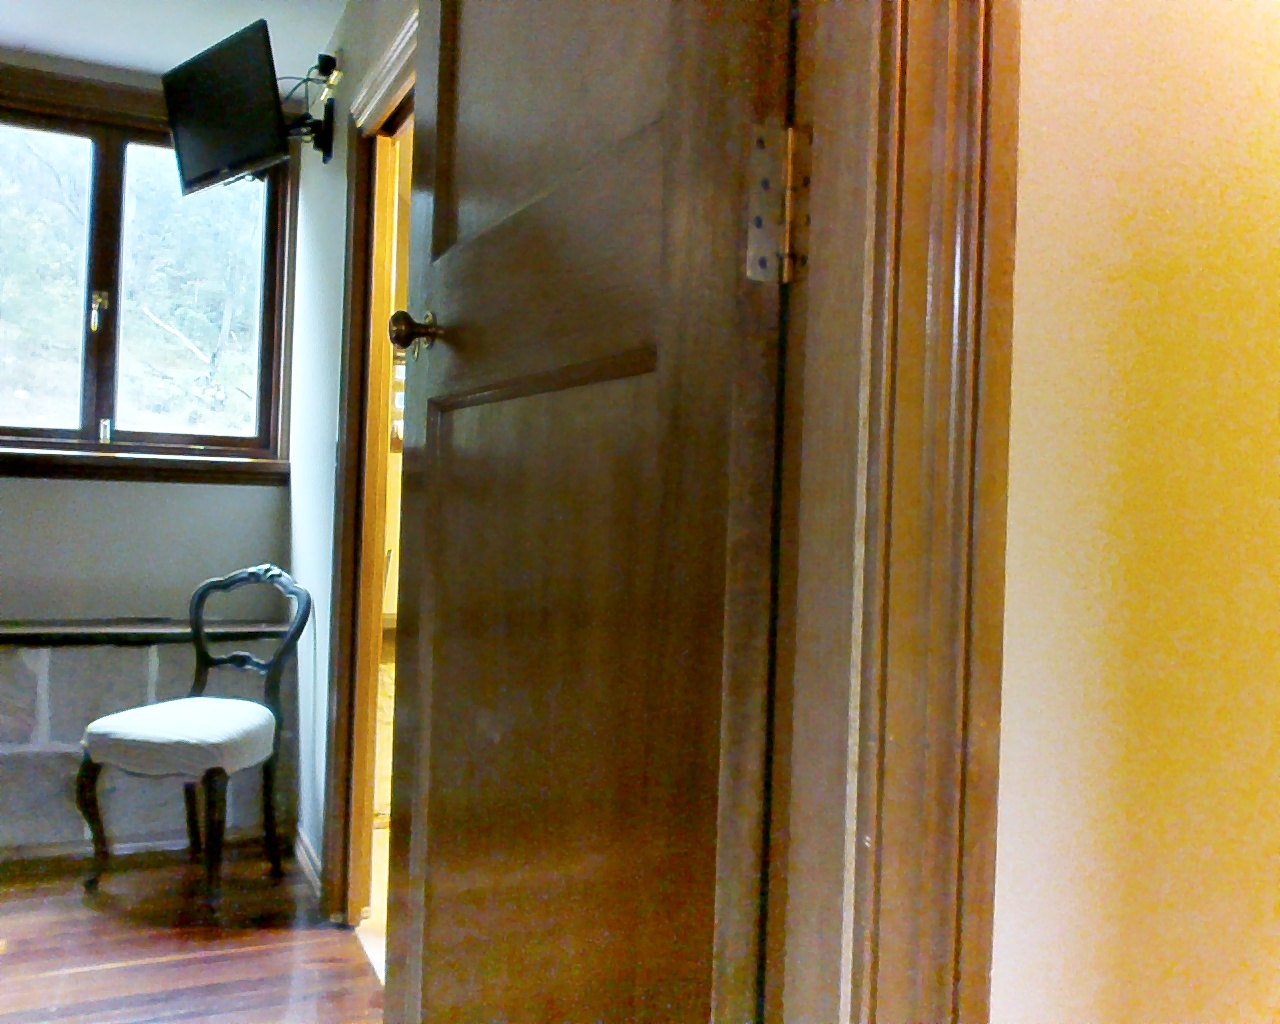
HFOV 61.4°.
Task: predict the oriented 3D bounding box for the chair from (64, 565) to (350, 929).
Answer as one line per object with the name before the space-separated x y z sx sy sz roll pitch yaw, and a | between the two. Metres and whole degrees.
chair | -1.219 0.620 3.100 0.500 0.890 0.550 2 0 15
